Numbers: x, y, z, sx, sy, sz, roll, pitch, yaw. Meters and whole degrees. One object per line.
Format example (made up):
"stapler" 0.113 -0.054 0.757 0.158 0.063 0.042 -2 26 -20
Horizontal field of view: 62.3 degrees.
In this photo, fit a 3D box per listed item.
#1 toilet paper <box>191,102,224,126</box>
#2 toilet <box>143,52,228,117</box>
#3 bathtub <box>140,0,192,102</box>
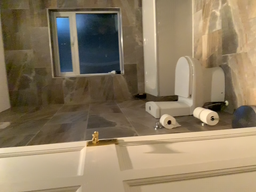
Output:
"toilet paper" 0.680 0.150 1.830 0.250 0.160 0.140 -140 47 -78
"toilet" 0.600 -0.140 2.310 0.400 0.790 0.610 -142 49 -78
"bathtub" 0.540 -0.850 3.160 0.670 0.540 1.760 -146 53 -79
